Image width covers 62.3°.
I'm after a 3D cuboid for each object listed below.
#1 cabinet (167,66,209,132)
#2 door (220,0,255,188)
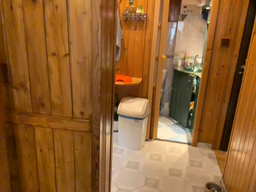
[{"bbox_3d":[1.010,-0.010,3.660,0.500,0.850,0.930,7,18,13],"label":"cabinet"},{"bbox_3d":[1.250,-0.140,2.230,0.050,2.100,0.700,7,18,12],"label":"door"}]
